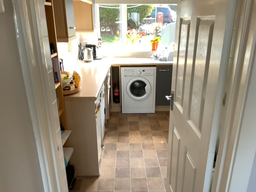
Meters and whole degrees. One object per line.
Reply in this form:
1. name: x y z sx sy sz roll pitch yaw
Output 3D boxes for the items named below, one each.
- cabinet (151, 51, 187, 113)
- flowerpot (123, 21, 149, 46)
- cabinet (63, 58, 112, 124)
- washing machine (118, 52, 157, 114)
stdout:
1. cabinet: 0.700 -0.270 3.800 0.480 0.970 0.580 -1 20 -1
2. flowerpot: 0.140 -1.150 3.900 0.450 0.420 0.280 0 20 0
3. cabinet: -0.580 -0.090 3.270 0.600 0.910 0.500 0 20 1
4. washing machine: 0.150 -0.250 3.790 0.620 0.960 0.590 -1 20 -1
